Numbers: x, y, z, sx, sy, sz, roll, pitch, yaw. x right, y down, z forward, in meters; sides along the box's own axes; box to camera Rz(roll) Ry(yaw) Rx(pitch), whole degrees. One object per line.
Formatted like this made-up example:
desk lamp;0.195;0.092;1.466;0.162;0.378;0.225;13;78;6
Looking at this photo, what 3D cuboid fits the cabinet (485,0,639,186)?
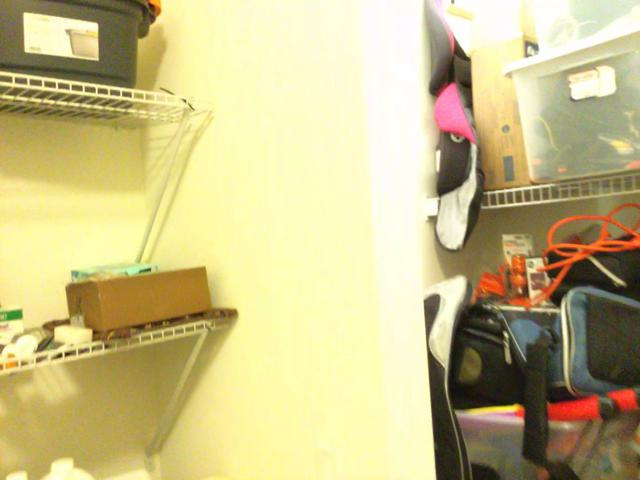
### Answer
cabinet;0.710;-0.350;1.350;0.410;0.380;0.450;-3;-2;-43
